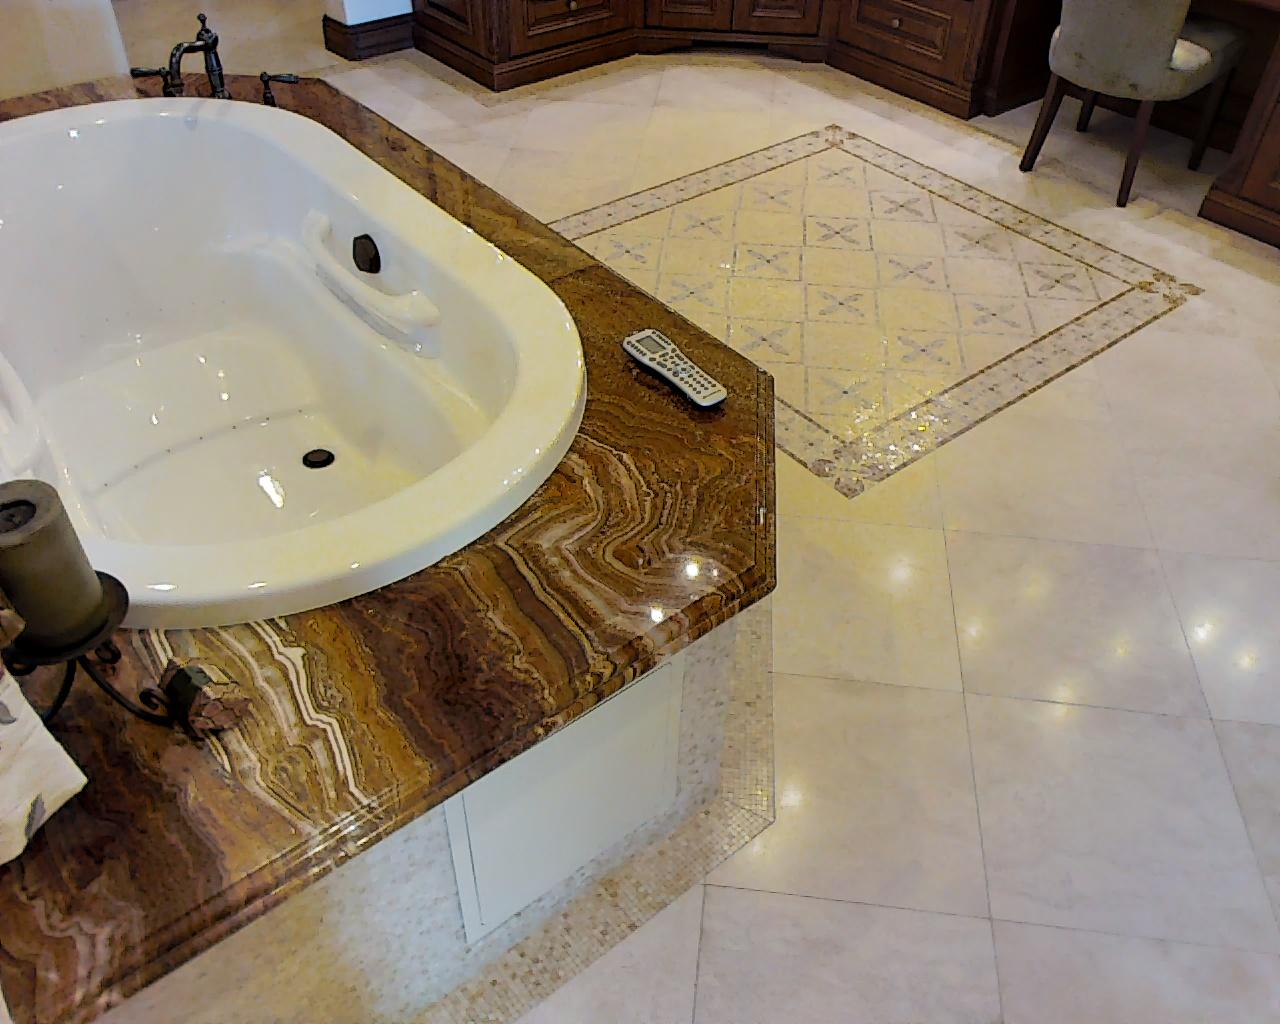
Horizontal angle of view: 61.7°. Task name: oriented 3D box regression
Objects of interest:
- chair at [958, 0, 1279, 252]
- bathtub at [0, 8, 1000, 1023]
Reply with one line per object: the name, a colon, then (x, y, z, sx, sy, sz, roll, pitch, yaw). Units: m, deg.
chair: (1.610, -1.530, 3.380, 0.750, 1.030, 0.670, -32, 51, -31)
bathtub: (-0.780, -0.240, 2.190, 1.370, 0.650, 2.480, -27, 49, -28)
